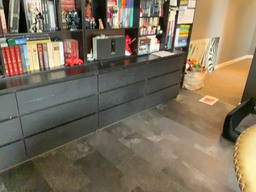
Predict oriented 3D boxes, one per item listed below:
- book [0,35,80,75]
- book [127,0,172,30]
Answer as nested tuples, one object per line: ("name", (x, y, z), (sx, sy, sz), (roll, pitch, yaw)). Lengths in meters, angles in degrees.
("book", (-0.840, -0.430, 2.110), (0.680, 0.270, 0.230), (-18, 31, -38))
("book", (0.300, -1.120, 2.930), (0.650, 0.360, 0.190), (-18, 31, -38))
